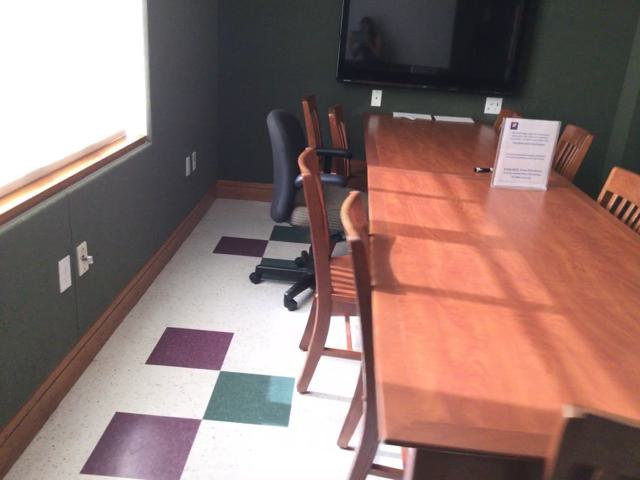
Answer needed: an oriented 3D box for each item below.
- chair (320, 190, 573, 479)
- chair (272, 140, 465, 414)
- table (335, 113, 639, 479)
[{"bbox_3d":[0.280,0.360,1.640,0.520,0.880,0.470,3,20,1],"label":"chair"},{"bbox_3d":[0.150,0.120,2.230,0.590,0.880,0.530,3,20,1],"label":"chair"},{"bbox_3d":[0.630,0.130,2.400,1.070,0.800,3.140,3,20,1],"label":"table"}]
